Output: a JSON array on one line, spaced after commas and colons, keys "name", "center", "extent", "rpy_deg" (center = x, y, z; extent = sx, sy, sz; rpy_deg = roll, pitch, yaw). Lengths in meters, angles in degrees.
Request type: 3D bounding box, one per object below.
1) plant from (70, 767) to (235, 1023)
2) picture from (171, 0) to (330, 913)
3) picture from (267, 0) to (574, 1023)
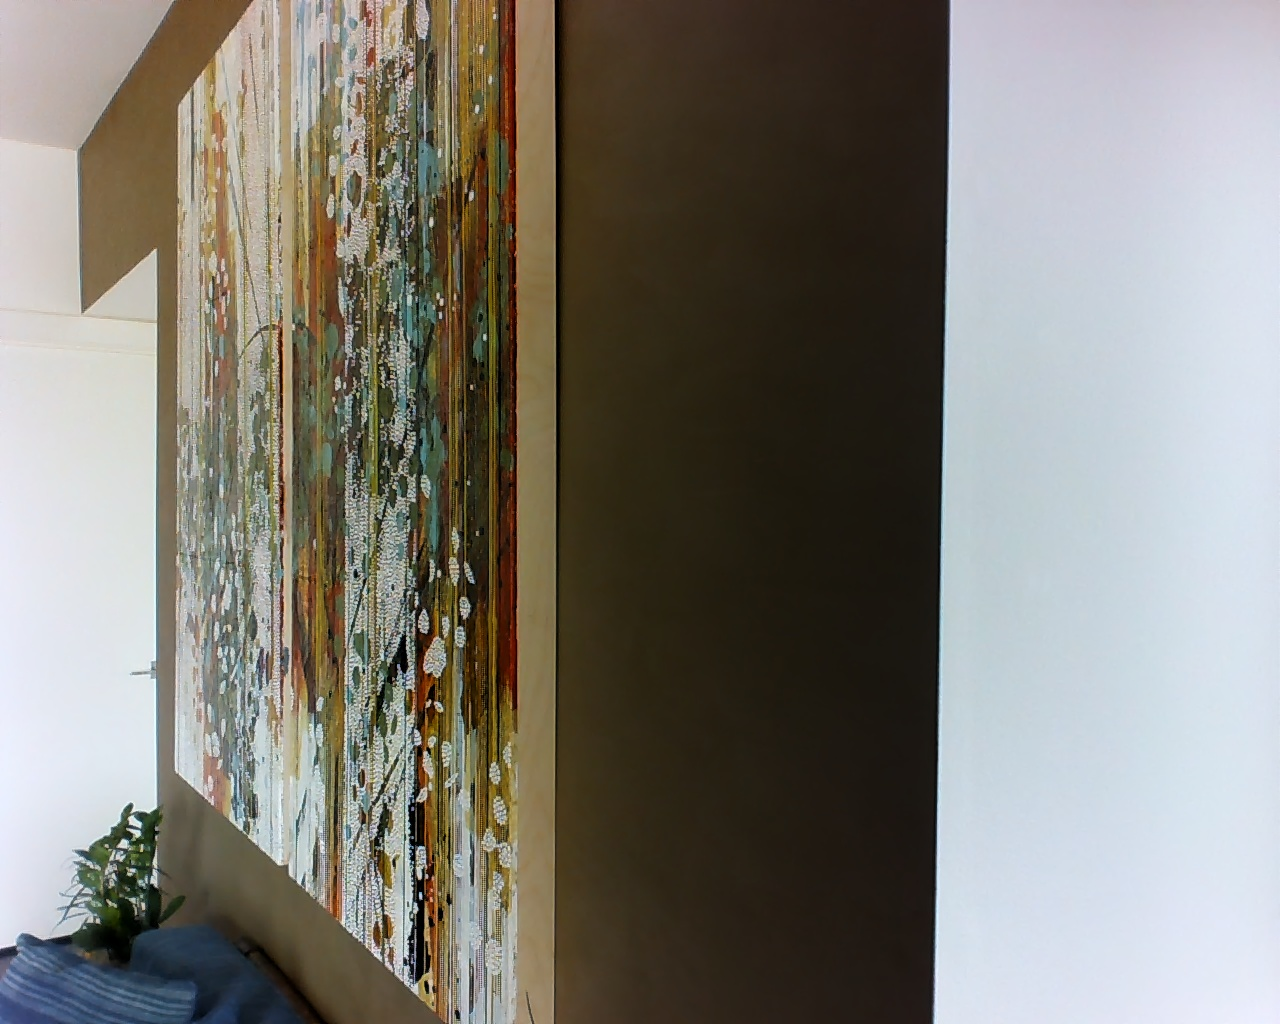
[{"name": "plant", "center": [-0.980, 0.800, 2.140], "extent": [0.230, 0.470, 0.400], "rpy_deg": [0, 1, -34]}, {"name": "picture", "center": [-0.730, -0.120, 1.950], "extent": [0.070, 1.440, 0.760], "rpy_deg": [0, 1, -34]}, {"name": "picture", "center": [-0.320, -0.130, 1.360], "extent": [0.070, 1.470, 0.780], "rpy_deg": [0, 1, -34]}]
